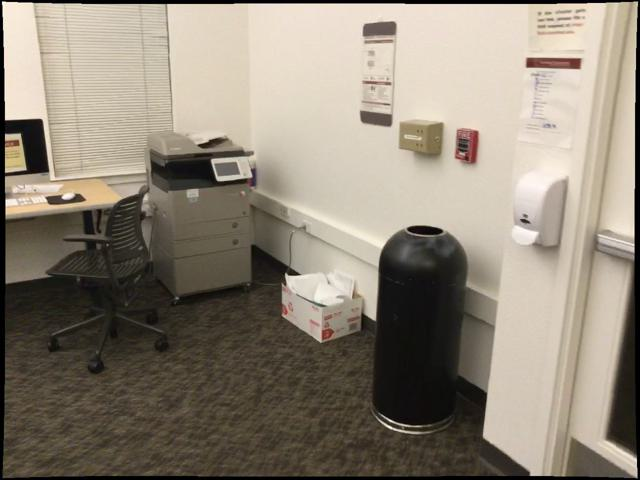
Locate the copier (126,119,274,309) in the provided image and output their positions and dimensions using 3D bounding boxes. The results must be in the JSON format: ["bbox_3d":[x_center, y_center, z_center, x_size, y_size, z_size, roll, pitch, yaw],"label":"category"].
[{"bbox_3d":[-0.809,-0.230,3.900,0.670,1.031,0.810,-11,22,-31],"label":"copier"}]
